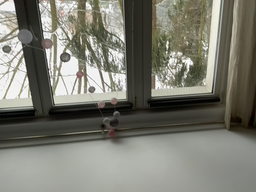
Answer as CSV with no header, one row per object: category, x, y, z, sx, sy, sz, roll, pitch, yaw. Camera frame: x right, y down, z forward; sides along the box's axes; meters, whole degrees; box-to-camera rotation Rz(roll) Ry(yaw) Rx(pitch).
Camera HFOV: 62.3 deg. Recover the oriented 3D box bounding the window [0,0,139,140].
window,-0.660,-0.390,1.850,1.490,1.560,0.170,-4,-160,-7
